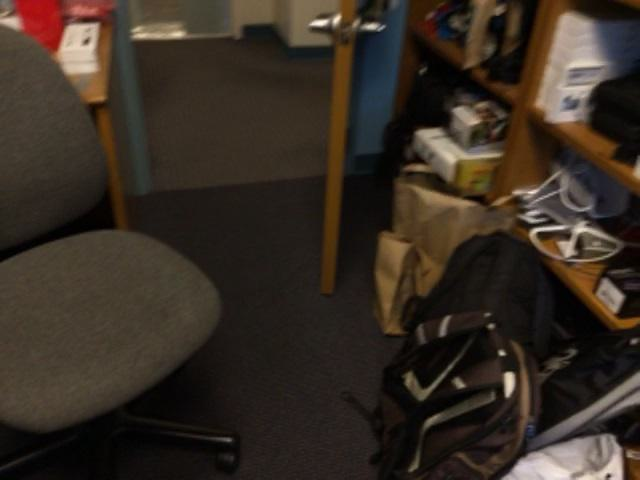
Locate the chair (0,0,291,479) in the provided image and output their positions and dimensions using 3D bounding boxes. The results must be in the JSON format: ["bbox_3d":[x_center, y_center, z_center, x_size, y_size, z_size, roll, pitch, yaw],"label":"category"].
[{"bbox_3d":[-0.550,0.080,1.200,0.680,1.060,0.640,26,38,31],"label":"chair"}]
